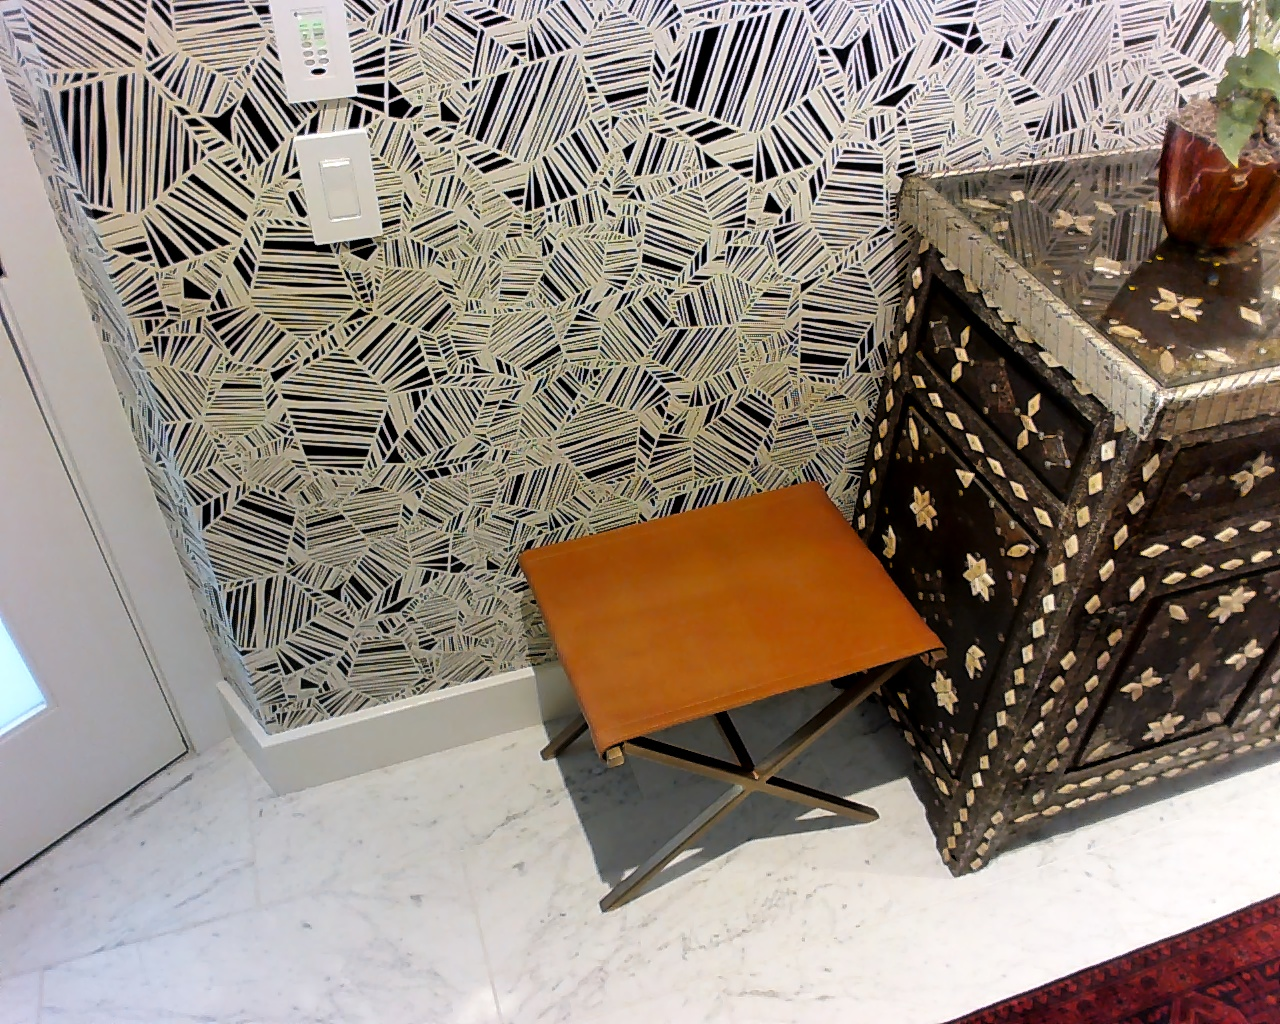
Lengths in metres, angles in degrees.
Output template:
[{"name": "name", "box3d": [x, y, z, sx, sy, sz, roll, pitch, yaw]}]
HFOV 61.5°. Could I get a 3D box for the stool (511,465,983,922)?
[{"name": "stool", "box3d": [0.130, 0.270, 1.670, 0.560, 0.450, 0.390, -11, 44, -14]}]
